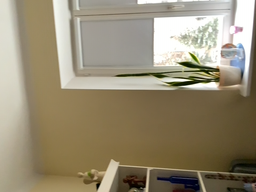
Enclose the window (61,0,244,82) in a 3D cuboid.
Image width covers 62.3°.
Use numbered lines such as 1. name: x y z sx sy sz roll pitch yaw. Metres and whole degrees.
1. window: 0.210 -0.910 2.270 0.220 1.850 1.490 -50 -40 -76
